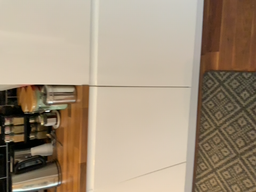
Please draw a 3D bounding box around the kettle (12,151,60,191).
[{"bbox_3d":[-0.480,0.400,1.110,0.120,0.210,0.160,7,96,52],"label":"kettle"}]
